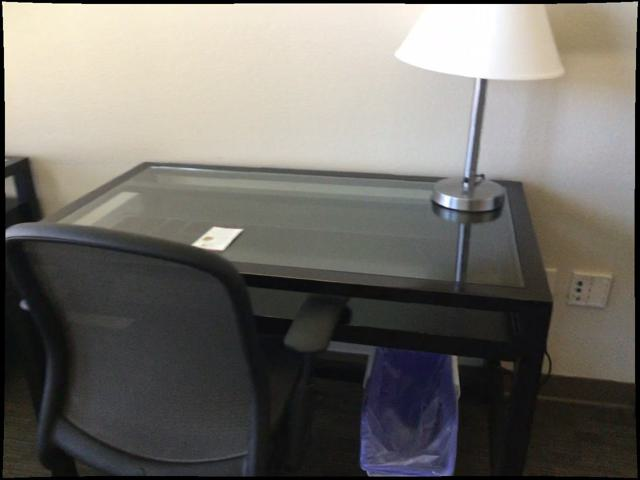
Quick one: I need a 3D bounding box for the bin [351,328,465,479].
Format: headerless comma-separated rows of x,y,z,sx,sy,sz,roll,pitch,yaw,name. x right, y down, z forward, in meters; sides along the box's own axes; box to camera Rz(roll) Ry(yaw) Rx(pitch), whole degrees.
0.260,0.521,1.640,0.270,0.340,0.410,4,26,13,bin

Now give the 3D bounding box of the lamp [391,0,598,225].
0.410,-0.380,1.460,0.410,0.560,0.370,4,26,13,lamp
